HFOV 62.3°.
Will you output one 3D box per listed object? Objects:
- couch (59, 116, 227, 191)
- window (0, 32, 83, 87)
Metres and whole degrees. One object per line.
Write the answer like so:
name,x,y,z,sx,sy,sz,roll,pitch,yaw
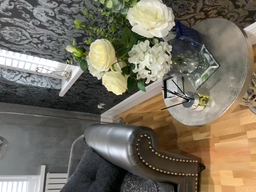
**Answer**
couch,-0.040,1.050,1.710,1.180,0.800,1.640,-5,77,60
window,-1.040,-0.320,1.750,0.630,1.170,0.060,-31,54,54
